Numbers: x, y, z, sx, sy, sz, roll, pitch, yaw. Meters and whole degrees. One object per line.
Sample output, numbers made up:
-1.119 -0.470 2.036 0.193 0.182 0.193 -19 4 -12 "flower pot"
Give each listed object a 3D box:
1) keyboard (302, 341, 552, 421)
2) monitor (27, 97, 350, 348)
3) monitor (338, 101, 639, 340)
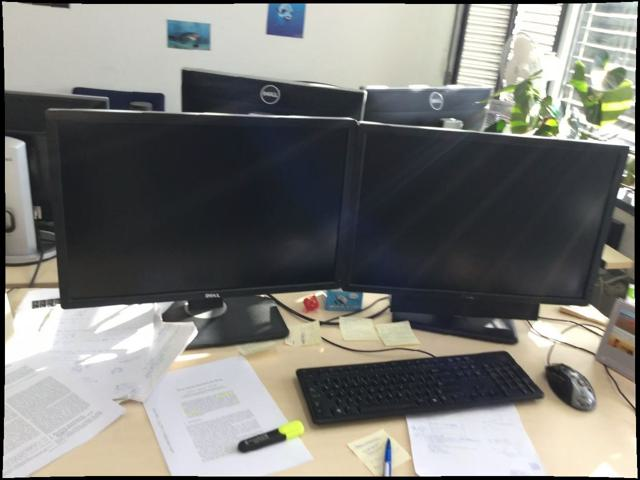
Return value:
0.200 0.260 1.100 0.450 0.030 0.140 -2 26 -13 "keyboard"
-0.240 -0.050 1.130 0.540 0.420 0.160 -6 27 -21 "monitor"
0.330 -0.040 1.240 0.539 0.430 0.200 4 25 -2 "monitor"
